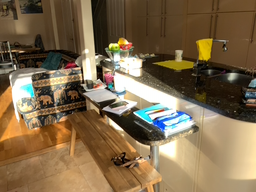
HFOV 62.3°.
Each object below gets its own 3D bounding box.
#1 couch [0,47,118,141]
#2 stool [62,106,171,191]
[{"bbox_3d":[-1.400,-0.300,3.720,1.390,0.750,2.470,-13,23,-29],"label":"couch"},{"bbox_3d":[-0.200,0.530,1.800,0.390,0.450,1.230,-11,22,-27],"label":"stool"}]
